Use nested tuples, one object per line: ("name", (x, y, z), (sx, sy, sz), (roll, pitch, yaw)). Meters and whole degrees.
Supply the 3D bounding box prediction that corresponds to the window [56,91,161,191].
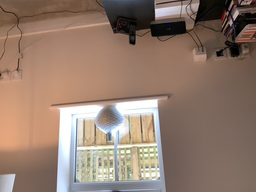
("window", (-0.150, 0.690, 1.650), (0.790, 1.430, 0.130), (-4, 163, 6))
